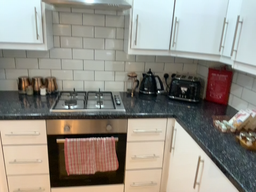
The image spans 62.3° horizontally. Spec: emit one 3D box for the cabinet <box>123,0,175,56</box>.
[{"bbox_3d":[0.180,-0.920,1.730,0.340,1.120,0.310,1,18,-9],"label":"cabinet"}]

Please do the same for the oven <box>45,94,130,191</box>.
[{"bbox_3d":[-0.360,0.480,1.960,0.610,0.860,0.580,1,18,-9],"label":"oven"}]

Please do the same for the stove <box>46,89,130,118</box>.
[{"bbox_3d":[-0.330,0.050,1.830,0.610,0.050,0.560,1,18,-9],"label":"stove"}]
